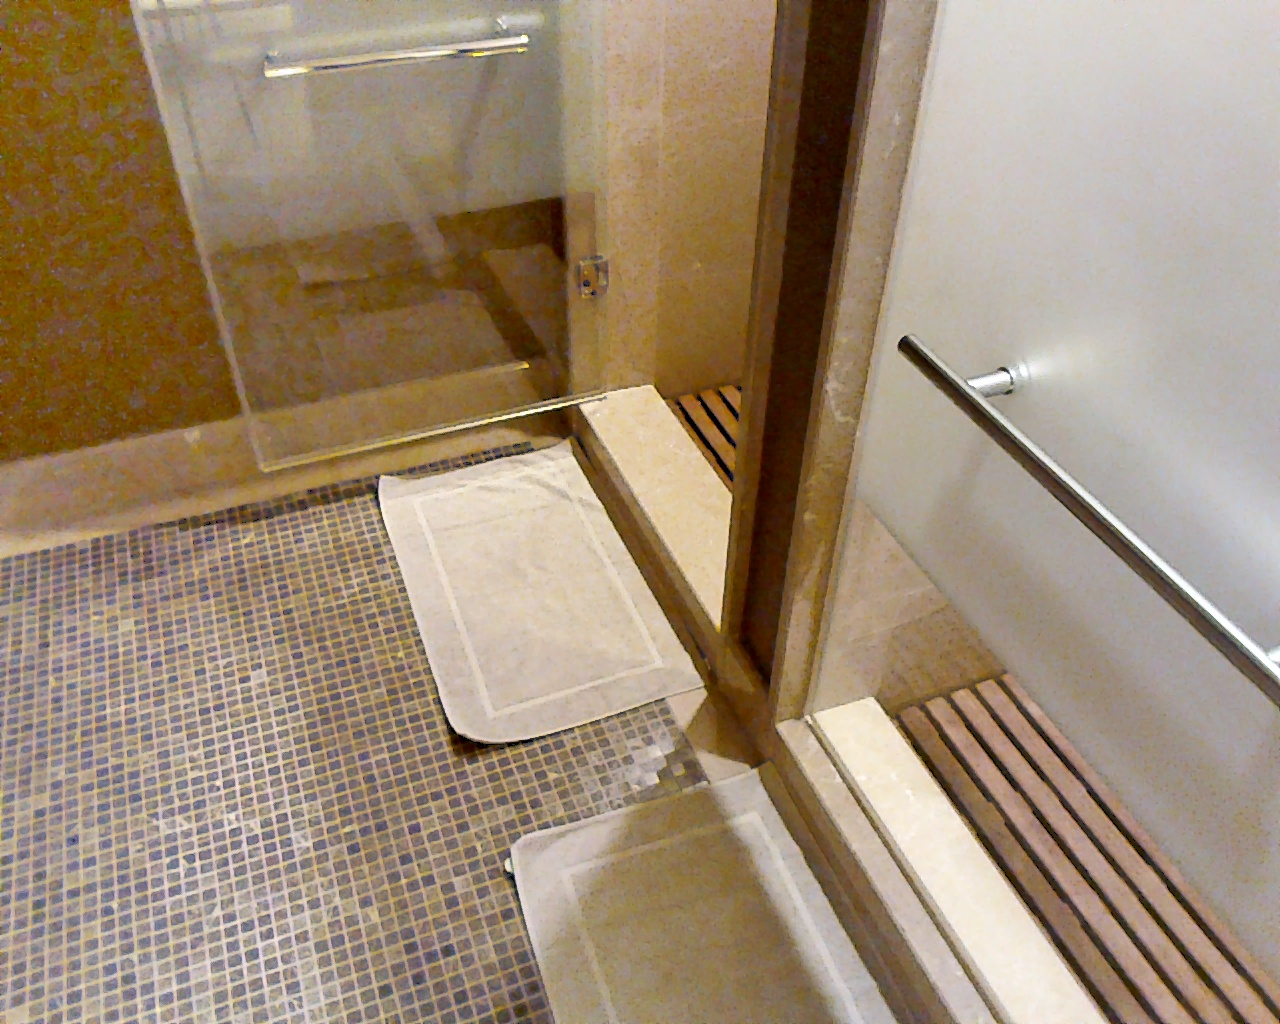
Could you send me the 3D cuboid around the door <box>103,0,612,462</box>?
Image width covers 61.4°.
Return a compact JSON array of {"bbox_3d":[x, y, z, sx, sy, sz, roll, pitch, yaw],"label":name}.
[{"bbox_3d":[-0.460,-1.010,1.730,0.830,2.090,0.090,-14,44,-16],"label":"door"}]
